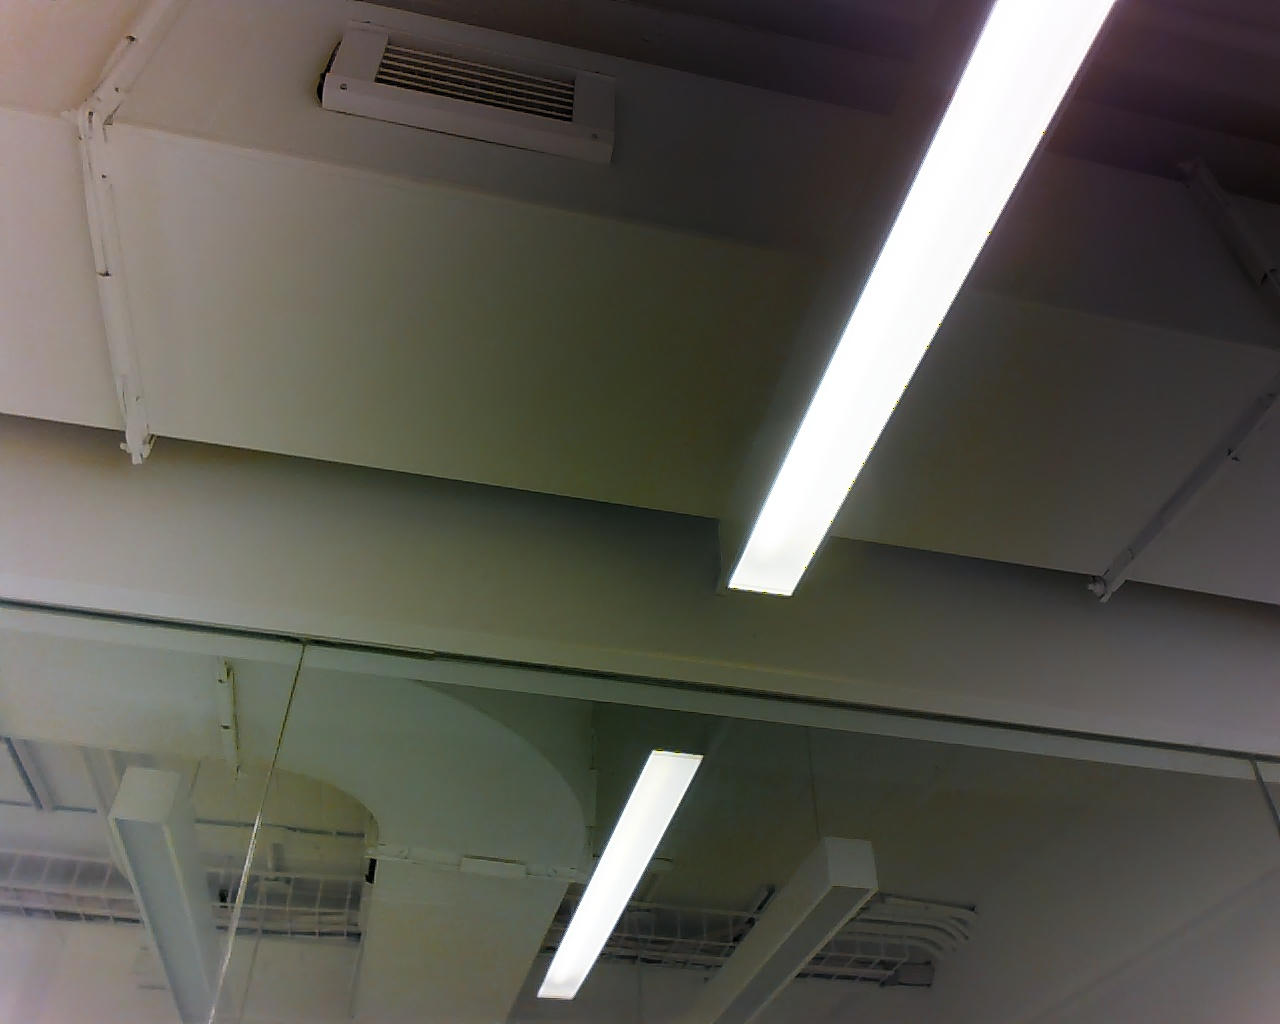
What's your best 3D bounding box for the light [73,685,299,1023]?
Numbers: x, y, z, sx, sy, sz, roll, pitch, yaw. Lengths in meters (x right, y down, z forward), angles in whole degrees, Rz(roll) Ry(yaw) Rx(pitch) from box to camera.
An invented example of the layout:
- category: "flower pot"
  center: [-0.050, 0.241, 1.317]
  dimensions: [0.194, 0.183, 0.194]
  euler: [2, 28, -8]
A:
- category: "light"
  center: [-1.099, 1.261, 2.860]
  dimensions: [0.280, 2.511, 0.260]
  euler: [9, 47, -9]
